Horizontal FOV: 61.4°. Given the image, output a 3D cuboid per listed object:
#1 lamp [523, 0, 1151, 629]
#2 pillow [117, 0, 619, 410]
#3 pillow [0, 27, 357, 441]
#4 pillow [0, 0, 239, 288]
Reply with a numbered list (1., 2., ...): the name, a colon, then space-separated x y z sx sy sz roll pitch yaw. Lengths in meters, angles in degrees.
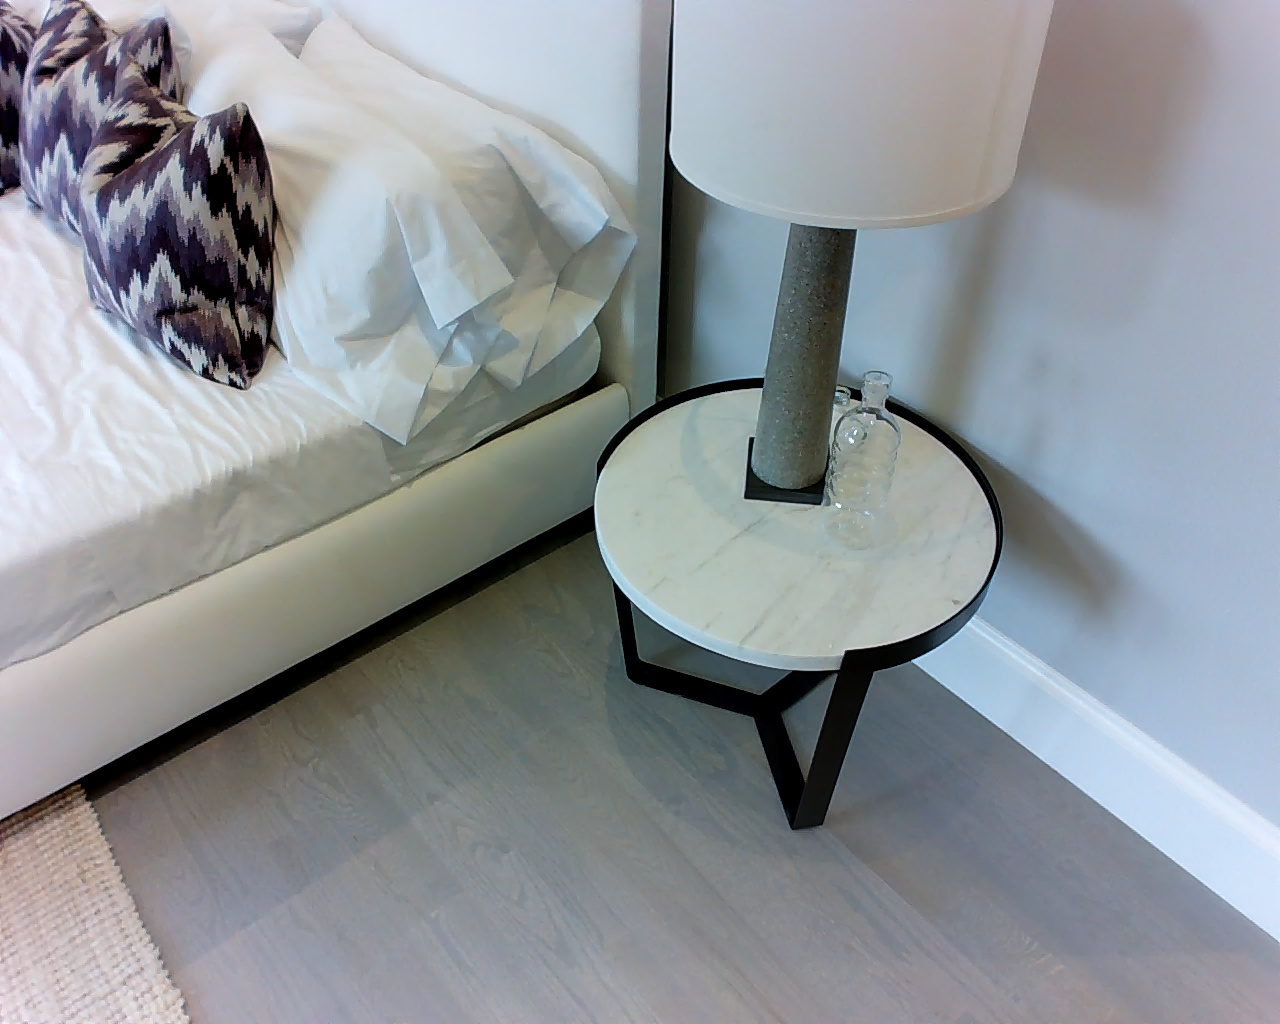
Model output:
1. lamp: 0.220 -0.390 1.360 0.550 0.830 0.440 -30 50 -30
2. pillow: -0.520 -0.660 2.050 0.420 0.420 0.960 -32 51 -31
3. pillow: -0.780 -0.480 1.820 0.320 0.470 0.470 -31 51 -30
4. pillow: -1.090 -0.760 2.130 0.430 0.420 0.300 34 51 31
